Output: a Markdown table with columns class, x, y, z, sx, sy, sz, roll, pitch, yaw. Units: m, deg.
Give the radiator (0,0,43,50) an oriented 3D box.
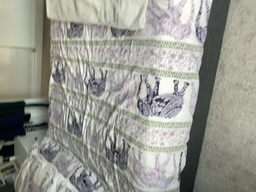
| class | x | y | z | sx | sy | sz | roll | pitch | yaw |
| --- | --- | --- | --- | --- | --- | --- | --- | --- | --- |
| radiator | -1.570 | -1.320 | 3.010 | 0.120 | 0.680 | 1.240 | 18 | 106 | 47 |
